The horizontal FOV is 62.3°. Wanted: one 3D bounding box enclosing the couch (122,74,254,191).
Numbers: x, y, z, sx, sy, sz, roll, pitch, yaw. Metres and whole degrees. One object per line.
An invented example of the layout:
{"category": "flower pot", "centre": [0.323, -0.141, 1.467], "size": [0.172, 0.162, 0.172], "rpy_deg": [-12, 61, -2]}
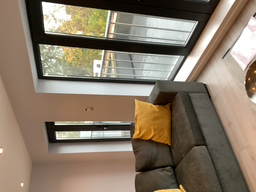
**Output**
{"category": "couch", "centre": [0.530, 0.770, 2.450], "size": [1.090, 0.830, 1.700], "rpy_deg": [111, 157, -51]}
